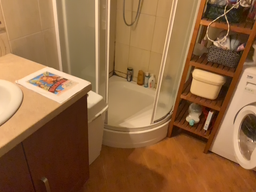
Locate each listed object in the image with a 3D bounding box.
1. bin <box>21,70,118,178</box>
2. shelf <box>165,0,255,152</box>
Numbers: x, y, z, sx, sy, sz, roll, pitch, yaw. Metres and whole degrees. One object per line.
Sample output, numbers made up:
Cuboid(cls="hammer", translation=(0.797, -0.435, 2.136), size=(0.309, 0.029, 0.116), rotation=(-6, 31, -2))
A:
Cuboid(cls="bin", translation=(-0.430, 0.200, 1.670), size=(0.570, 0.580, 0.370), rotation=(20, 37, 21))
Cuboid(cls="shelf", translation=(0.690, -0.240, 1.740), size=(0.390, 1.360, 0.490), rotation=(20, 37, 20))
